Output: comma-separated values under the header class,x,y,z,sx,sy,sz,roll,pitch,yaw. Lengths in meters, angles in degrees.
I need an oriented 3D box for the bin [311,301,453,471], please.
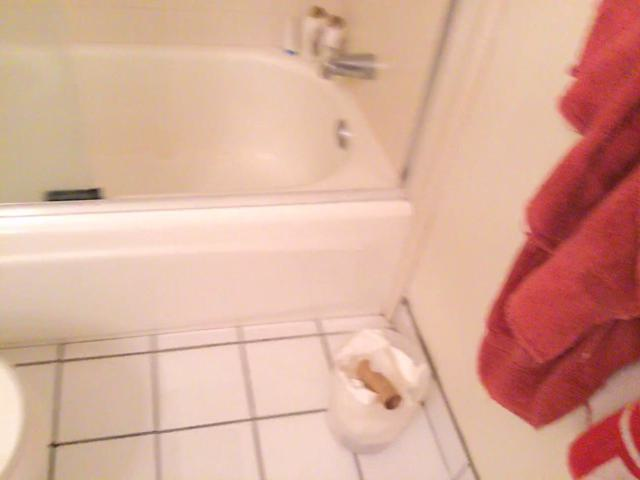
class,x,y,z,sx,sy,sz,roll,pitch,yaw
bin,0.120,0.320,1.280,0.210,0.250,0.240,-5,43,-14
